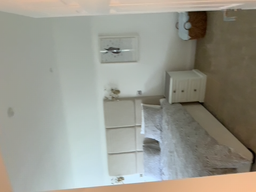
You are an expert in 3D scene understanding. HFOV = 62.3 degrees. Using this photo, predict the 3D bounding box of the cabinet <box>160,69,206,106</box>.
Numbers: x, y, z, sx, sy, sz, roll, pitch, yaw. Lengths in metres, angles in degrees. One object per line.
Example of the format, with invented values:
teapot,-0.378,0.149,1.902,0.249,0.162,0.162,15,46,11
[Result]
cabinet,0.960,-0.170,3.850,0.590,0.610,0.470,-105,12,-67

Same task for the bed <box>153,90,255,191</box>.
bed,1.010,1.220,3.560,2.160,0.740,2.000,-106,12,-69
